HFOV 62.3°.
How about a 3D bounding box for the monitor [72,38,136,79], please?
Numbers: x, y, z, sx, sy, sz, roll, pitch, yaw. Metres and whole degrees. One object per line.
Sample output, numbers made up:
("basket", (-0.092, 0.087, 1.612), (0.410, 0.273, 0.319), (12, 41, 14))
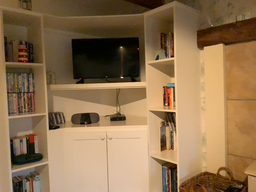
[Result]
("monitor", (-0.260, -0.410, 2.320), (0.670, 0.420, 0.050), (-2, 3, -1))

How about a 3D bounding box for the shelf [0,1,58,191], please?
("shelf", (-0.980, 0.230, 1.990), (0.390, 1.960, 0.460), (-5, 4, -44))

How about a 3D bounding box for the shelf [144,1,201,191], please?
("shelf", (0.440, 0.180, 2.050), (0.390, 1.960, 0.340), (-5, 4, -44))
